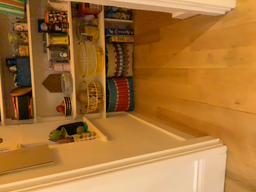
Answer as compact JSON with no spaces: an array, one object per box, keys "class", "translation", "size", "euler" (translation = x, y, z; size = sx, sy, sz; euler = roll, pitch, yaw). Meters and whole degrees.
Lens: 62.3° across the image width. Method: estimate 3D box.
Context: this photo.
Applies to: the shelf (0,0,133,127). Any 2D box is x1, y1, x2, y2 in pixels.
[{"class":"shelf","translation":[-0.840,-0.540,1.980],"size":[0.300,1.810,1.540],"euler":[-164,72,-63]}]
